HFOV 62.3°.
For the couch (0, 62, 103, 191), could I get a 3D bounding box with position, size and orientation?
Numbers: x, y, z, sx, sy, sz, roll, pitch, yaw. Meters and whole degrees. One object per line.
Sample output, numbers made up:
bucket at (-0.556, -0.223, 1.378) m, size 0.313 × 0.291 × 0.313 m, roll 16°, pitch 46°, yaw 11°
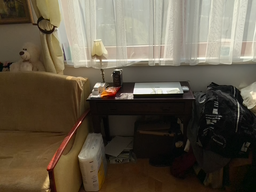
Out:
couch at (-1.050, 0.310, 1.880) m, size 1.330 × 0.930 × 1.130 m, roll 1°, pitch 24°, yaw 8°
